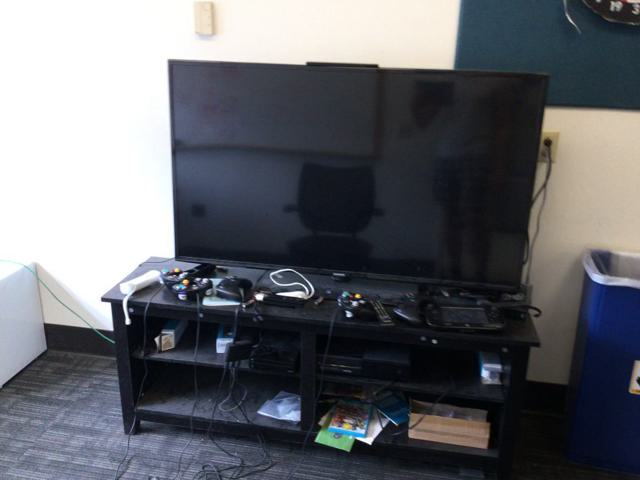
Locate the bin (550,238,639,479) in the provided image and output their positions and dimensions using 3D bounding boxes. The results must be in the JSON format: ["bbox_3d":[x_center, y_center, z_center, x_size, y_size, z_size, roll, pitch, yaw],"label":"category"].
[{"bbox_3d":[1.120,0.410,1.960,0.560,0.750,0.390,-2,17,12],"label":"bin"}]
